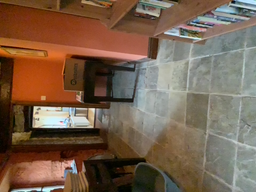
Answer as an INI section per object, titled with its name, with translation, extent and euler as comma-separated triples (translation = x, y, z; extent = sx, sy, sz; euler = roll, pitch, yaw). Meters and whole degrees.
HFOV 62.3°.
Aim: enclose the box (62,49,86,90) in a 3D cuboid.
[box]
translation = -0.830, -0.390, 3.220
extent = 0.450, 0.280, 0.550
euler = -170, 84, -70
